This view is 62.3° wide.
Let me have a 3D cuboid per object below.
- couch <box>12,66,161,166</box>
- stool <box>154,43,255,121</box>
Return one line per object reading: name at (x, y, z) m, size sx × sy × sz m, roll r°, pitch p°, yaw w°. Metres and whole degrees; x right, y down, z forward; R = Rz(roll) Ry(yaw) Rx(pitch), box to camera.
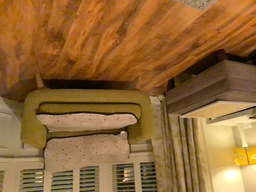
couch at (-0.430, 0.300, 2.320) m, size 1.190 × 0.810 × 1.030 m, roll 1°, pitch 161°, yaw -14°
stool at (0.830, -0.050, 2.150) m, size 0.700 × 0.410 × 0.970 m, roll 4°, pitch 160°, yaw -22°
